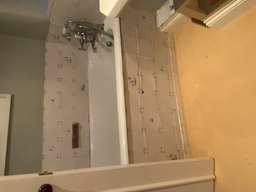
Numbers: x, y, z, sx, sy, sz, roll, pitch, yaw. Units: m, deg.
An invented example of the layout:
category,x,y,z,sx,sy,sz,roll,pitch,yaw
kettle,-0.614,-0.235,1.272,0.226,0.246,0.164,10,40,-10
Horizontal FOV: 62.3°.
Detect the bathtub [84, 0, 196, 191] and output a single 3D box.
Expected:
category,x,y,z,sx,sy,sz,roll,pitch,yaw
bathtub,0.020,0.210,1.760,0.710,0.540,1.660,-29,61,58
